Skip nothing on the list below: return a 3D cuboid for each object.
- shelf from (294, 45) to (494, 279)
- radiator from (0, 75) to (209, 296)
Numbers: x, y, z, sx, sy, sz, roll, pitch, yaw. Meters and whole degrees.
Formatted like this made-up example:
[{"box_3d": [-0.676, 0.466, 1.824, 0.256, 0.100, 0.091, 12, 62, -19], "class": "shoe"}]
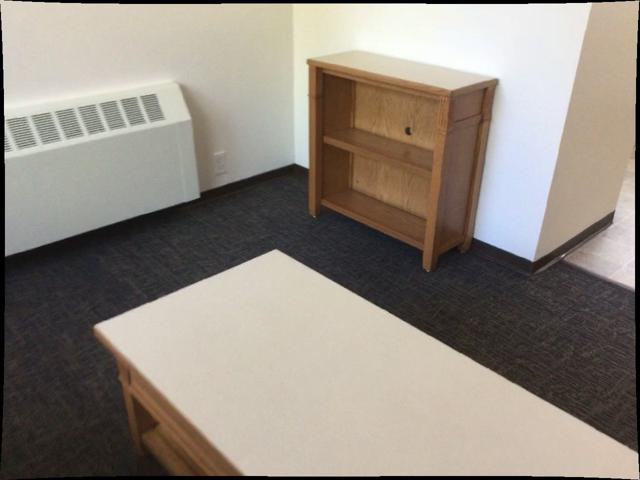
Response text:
[{"box_3d": [0.270, -0.371, 2.510, 0.350, 0.761, 0.760, -24, 38, -37], "class": "shelf"}, {"box_3d": [-1.368, -0.080, 2.070, 2.079, 0.641, 0.240, -25, 39, -37], "class": "radiator"}]
